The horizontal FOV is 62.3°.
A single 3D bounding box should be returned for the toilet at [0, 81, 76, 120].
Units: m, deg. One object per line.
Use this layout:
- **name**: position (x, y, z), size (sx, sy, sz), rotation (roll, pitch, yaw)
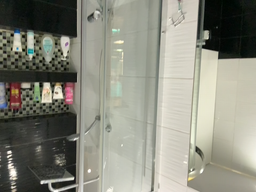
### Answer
- **toilet**: position (-0.730, 0.020, 1.550), size (0.100, 0.250, 0.730), rotation (8, -172, 43)
